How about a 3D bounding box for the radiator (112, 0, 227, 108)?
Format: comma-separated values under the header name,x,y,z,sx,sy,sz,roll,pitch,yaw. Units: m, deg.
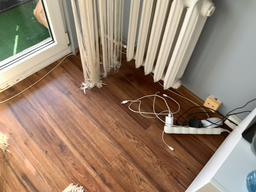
name,x,y,z,sx,sy,sz,roll,pitch,yaw
radiator,0.170,-0.510,1.000,0.190,1.290,0.540,-34,64,-25
